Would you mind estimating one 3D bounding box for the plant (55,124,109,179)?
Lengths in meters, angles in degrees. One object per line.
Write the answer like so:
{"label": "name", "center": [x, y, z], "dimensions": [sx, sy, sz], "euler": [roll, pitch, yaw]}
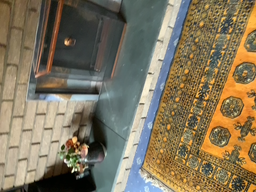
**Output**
{"label": "plant", "center": [-0.350, 0.400, 1.610], "dimensions": [0.270, 0.250, 0.260], "euler": [30, 110, 40]}
